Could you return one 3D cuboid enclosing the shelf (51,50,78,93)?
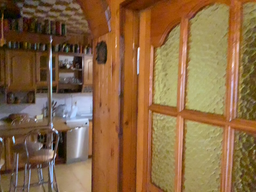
[{"bbox_3d":[-1.350,-0.500,4.530,0.500,0.860,0.270,-1,5,-33],"label":"shelf"}]
